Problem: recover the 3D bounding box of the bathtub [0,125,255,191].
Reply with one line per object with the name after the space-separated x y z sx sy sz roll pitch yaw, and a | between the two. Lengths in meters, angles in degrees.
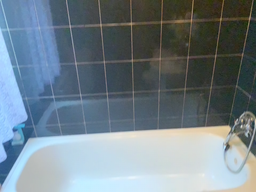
0.050 0.730 1.610 1.640 0.650 0.690 -3 26 -2 | bathtub
